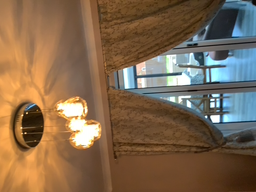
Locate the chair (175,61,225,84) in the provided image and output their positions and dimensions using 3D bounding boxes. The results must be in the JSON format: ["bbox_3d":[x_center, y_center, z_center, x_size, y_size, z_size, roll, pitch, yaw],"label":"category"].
[{"bbox_3d":[1.540,-0.510,4.630,0.480,0.950,0.430,-53,-41,-82],"label":"chair"}]

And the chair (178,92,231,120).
[{"bbox_3d":[1.580,0.200,4.460,0.490,0.930,0.490,-30,-63,-84],"label":"chair"}]
